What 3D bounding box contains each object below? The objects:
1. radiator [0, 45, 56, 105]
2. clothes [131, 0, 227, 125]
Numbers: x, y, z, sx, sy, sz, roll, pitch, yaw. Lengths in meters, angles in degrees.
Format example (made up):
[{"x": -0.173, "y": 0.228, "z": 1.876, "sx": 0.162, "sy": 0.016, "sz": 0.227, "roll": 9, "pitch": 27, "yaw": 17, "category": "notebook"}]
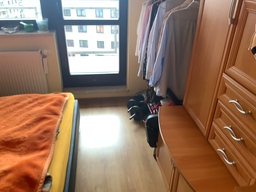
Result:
[{"x": -1.410, "y": -0.240, "z": 2.540, "sx": 0.940, "sy": 0.690, "sz": 0.190, "roll": -3, "pitch": 30, "yaw": -8, "category": "radiator"}, {"x": 0.350, "y": -0.490, "z": 2.170, "sx": 0.440, "sy": 0.950, "sz": 1.290, "roll": -2, "pitch": 29, "yaw": -7, "category": "clothes"}]
